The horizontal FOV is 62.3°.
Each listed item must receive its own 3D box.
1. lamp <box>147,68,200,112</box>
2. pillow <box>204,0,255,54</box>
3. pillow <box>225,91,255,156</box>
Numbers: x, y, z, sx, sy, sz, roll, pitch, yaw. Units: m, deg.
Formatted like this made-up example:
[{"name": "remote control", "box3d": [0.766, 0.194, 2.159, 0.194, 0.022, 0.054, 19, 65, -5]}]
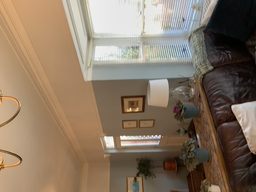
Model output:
[{"name": "lamp", "box3d": [0.570, -0.070, 2.800, 0.420, 0.570, 0.390, 89, 179, -55]}, {"name": "pillow", "box3d": [1.110, -0.750, 2.230, 0.550, 0.480, 0.140, 46, -147, -49]}, {"name": "pillow", "box3d": [1.130, 0.200, 1.760, 0.140, 0.460, 0.480, 46, -147, -48]}]
